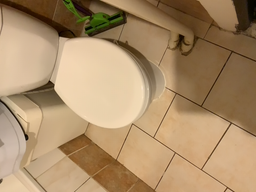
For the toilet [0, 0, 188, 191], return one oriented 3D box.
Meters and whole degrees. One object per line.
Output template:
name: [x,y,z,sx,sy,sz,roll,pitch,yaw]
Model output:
toilet: [-0.240,-0.100,0.990,0.750,0.740,0.410,33,112,21]
